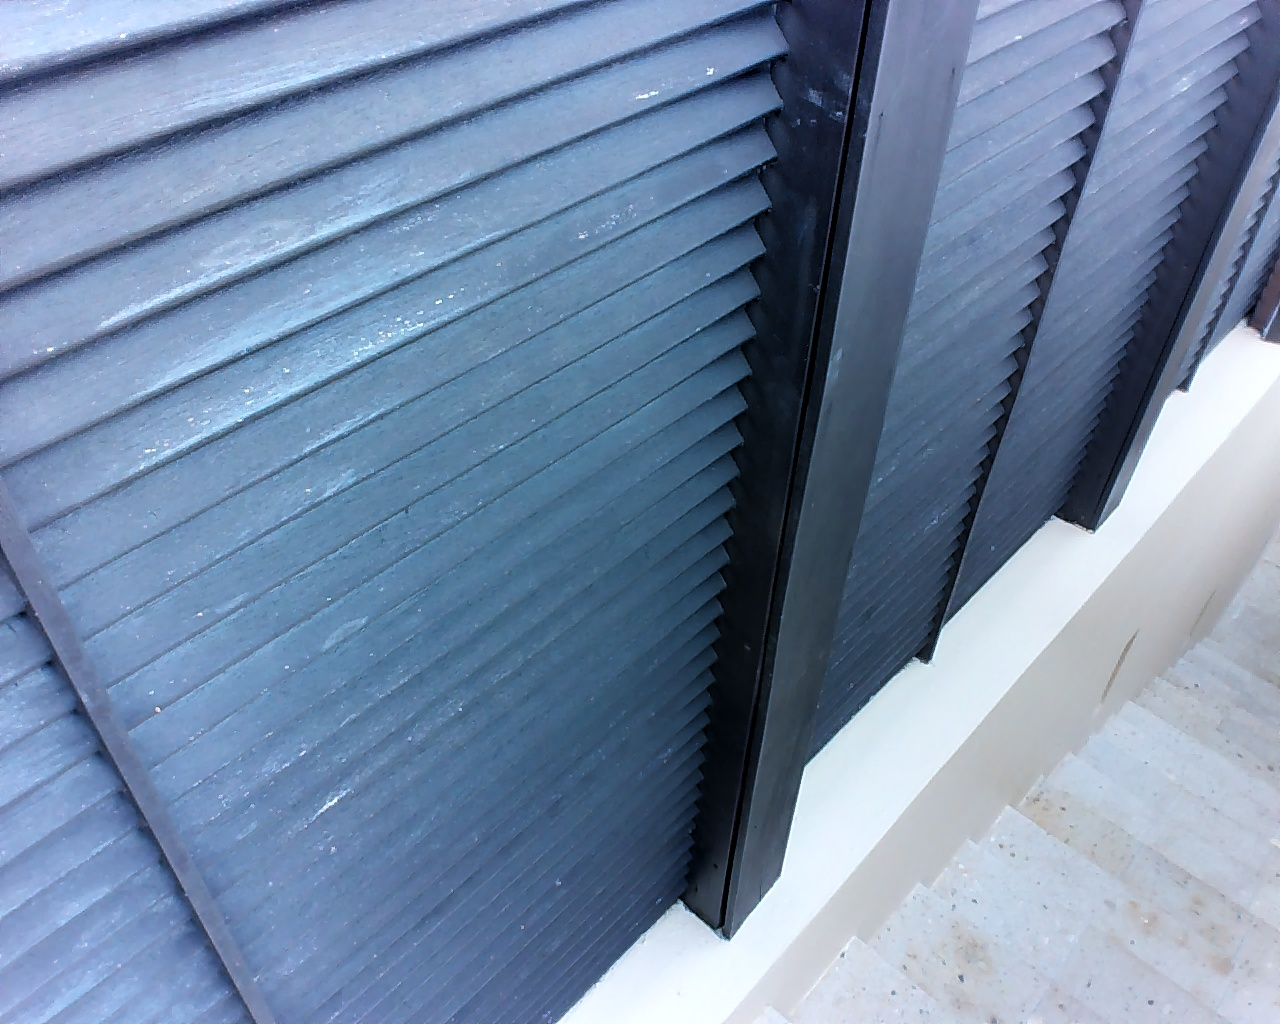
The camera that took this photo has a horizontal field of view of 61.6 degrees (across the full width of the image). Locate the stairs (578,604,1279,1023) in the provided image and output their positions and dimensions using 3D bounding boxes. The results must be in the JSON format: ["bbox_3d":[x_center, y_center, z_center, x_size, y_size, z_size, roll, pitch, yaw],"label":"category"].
[{"bbox_3d":[1.970,1.010,3.610,1.250,0.400,5.730,33,18,29],"label":"stairs"}]

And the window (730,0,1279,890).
[{"bbox_3d":[0.570,-0.440,1.260,0.110,1.990,1.060,33,51,29],"label":"window"}]
